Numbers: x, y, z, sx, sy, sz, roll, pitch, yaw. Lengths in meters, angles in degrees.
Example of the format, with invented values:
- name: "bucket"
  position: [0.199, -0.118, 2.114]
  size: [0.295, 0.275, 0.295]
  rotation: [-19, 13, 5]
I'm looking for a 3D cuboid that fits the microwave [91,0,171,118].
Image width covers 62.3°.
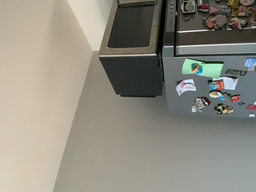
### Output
- name: "microwave"
  position: [0.090, -0.280, 1.330]
  size: [0.630, 0.310, 0.620]
  rotation: [66, -151, -60]
